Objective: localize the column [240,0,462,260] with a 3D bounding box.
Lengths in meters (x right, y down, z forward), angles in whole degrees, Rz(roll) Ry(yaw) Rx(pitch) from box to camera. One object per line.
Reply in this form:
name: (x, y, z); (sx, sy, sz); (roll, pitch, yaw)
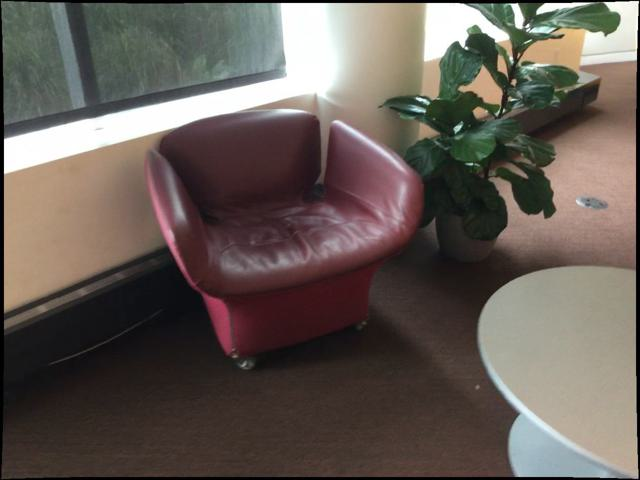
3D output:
column: (0.120, -0.632, 2.810); (0.579, 1.092, 0.829); (-23, 37, -34)
